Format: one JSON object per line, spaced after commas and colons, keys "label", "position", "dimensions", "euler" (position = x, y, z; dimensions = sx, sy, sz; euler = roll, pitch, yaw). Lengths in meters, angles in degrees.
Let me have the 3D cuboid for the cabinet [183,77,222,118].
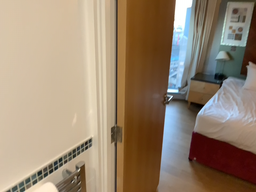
{"label": "cabinet", "position": [1.430, 0.010, 4.080], "dimensions": [0.520, 0.580, 0.460], "euler": [15, 25, 31]}
